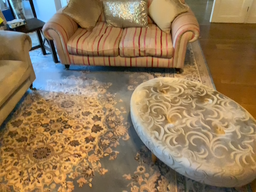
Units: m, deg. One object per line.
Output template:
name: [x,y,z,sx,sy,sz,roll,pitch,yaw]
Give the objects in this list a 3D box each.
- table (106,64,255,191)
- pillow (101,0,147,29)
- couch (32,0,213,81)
table: [0.420,0.230,1.580,0.720,0.350,1.060,-22,43,-25]
pillow: [-0.050,-0.980,2.520,0.510,0.300,0.110,7,64,-1]
couch: [-0.030,-0.810,2.520,1.610,0.850,0.960,1,38,3]
